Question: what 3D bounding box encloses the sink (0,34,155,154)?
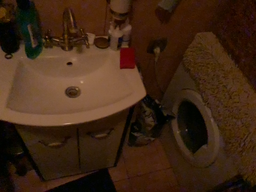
[{"bbox_3d":[-0.210,-0.040,0.800,0.500,0.150,0.380,-8,56,-17],"label":"sink"}]
